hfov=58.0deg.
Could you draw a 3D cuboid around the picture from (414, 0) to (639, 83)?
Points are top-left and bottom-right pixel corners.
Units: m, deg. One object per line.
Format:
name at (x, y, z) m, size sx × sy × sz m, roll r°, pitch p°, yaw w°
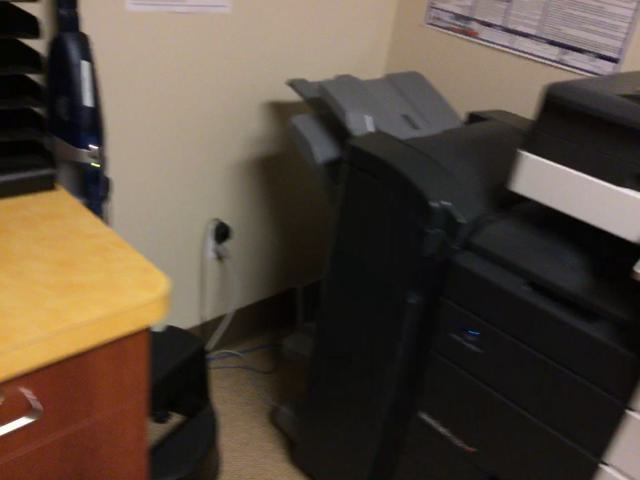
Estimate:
picture at (0.530, -0.640, 1.530) m, size 0.040 × 0.290 × 0.610 m, roll -20°, pitch 39°, yaw -41°
